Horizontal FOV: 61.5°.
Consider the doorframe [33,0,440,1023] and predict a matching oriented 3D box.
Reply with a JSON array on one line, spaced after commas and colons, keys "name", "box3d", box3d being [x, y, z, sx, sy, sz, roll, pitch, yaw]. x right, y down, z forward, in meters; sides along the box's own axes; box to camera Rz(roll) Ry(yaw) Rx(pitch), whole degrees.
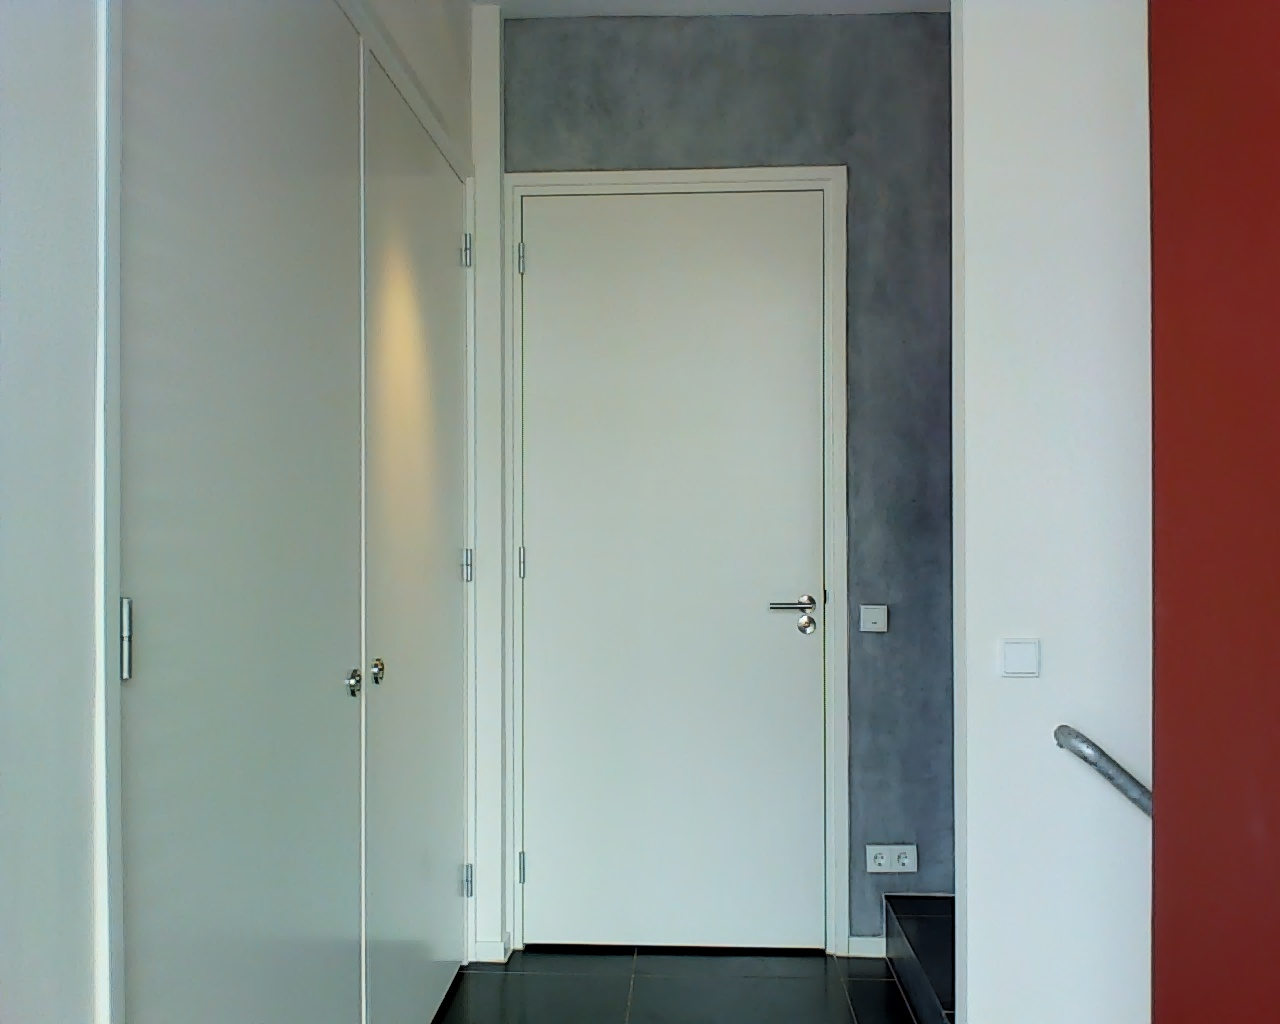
[{"name": "doorframe", "box3d": [-0.560, -0.190, 1.860, 0.070, 1.720, 1.460, 0, 0, 3]}]

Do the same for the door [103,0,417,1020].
[{"name": "door", "box3d": [-0.580, -0.210, 1.910, 0.020, 1.610, 1.300, 0, 0, 4]}]
